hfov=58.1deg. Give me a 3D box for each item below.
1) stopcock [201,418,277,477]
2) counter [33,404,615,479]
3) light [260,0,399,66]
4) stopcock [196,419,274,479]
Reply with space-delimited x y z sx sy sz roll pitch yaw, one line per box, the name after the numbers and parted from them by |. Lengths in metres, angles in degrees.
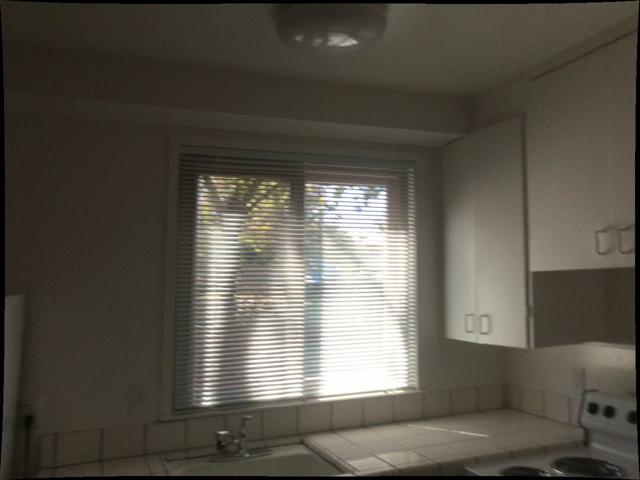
-0.329 0.831 2.330 0.270 0.150 0.180 0 -2 -22 | stopcock
0.050 0.861 2.170 2.057 0.120 0.710 0 -2 -22 | counter
0.020 -0.641 1.740 0.340 0.110 0.270 0 -2 -22 | light
-0.339 0.821 2.280 0.270 0.150 0.180 0 -2 -22 | stopcock
